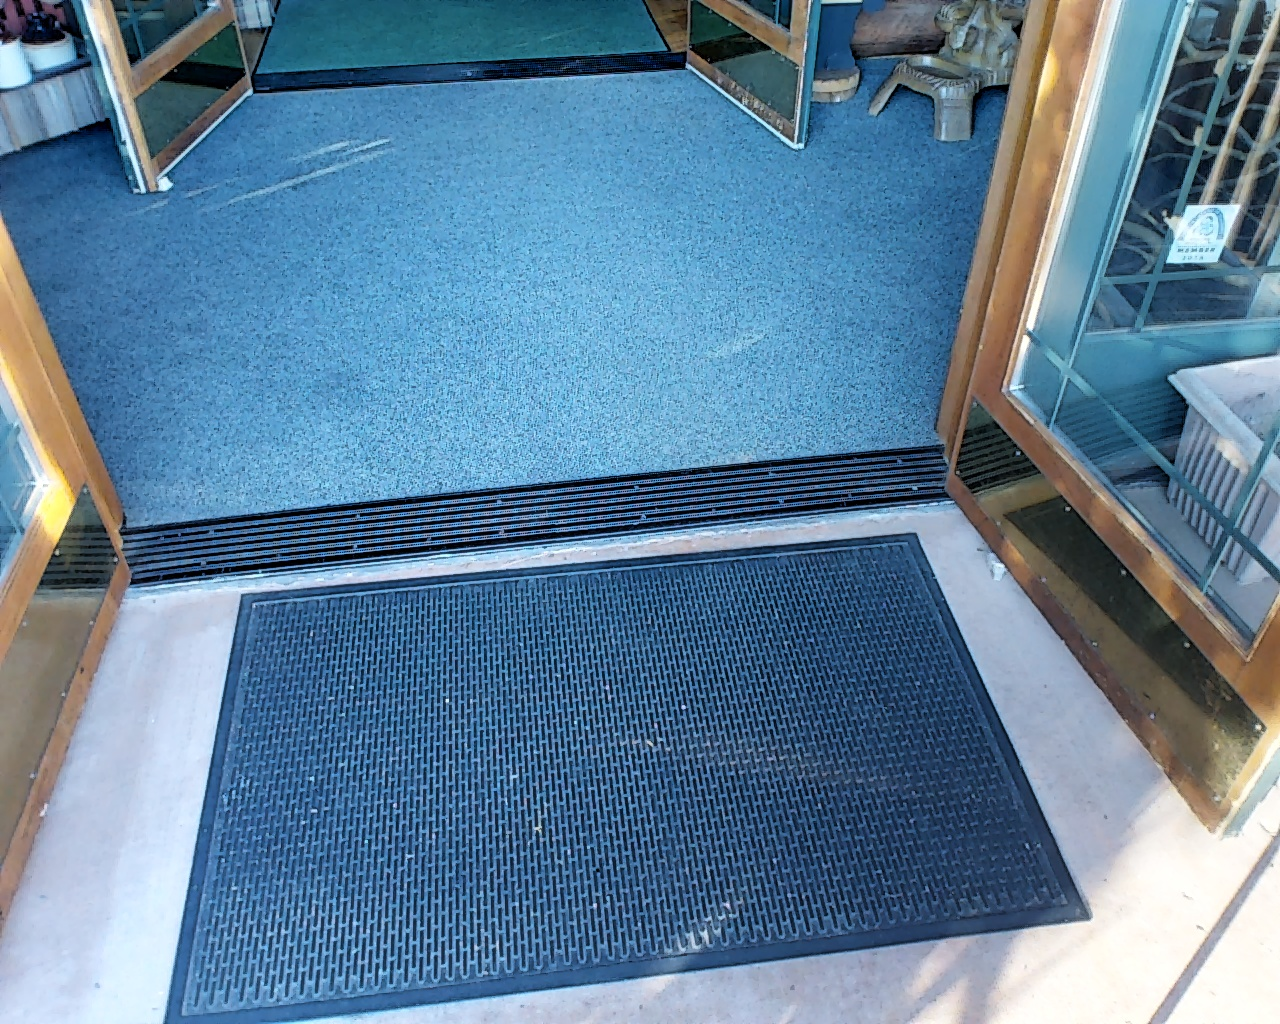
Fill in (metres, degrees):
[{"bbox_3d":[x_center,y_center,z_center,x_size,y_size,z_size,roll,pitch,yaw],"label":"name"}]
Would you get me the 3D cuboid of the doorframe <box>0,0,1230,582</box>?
[{"bbox_3d":[-0.200,-0.830,1.720,2.310,2.060,0.280,-6,42,-6],"label":"doorframe"}]
